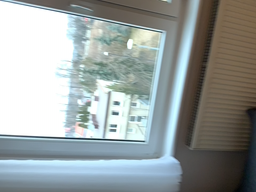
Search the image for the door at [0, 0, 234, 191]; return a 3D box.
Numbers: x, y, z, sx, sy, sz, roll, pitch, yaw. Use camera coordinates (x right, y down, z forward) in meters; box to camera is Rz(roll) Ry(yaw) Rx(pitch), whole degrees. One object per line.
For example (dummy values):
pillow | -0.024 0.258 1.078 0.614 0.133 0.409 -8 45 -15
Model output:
door | -0.410 -0.130 1.320 0.210 2.060 1.660 -142 59 -71
